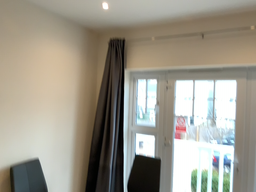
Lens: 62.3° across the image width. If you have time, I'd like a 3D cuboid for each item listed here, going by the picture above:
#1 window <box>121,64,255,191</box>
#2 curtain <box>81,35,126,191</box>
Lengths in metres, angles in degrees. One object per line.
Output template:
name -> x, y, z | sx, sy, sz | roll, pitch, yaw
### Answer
window -> 0.790, 0.680, 2.640 | 1.890, 2.090, 0.120 | 2, 0, 28
curtain -> -0.340, 0.470, 2.910 | 0.470, 2.500, 0.260 | 2, 0, 29
